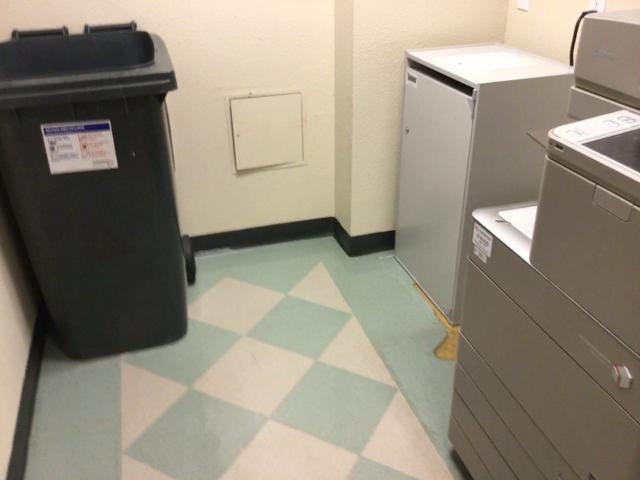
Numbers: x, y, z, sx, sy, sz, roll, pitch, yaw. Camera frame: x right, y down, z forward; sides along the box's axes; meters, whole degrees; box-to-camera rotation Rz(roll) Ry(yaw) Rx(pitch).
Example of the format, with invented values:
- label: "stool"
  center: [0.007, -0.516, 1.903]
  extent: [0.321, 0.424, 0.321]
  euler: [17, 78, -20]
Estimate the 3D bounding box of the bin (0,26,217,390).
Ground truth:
- label: "bin"
  center: [-0.740, -0.160, 2.020]
  extent: [0.620, 1.030, 0.710]
  euler: [-5, 27, -15]
